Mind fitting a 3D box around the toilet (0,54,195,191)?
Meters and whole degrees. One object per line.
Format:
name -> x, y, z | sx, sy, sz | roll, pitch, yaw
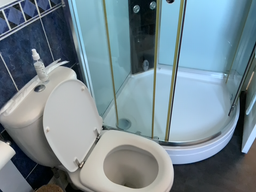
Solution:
toilet -> -0.110, 0.300, 1.100 | 0.690, 0.810, 0.440 | 13, 44, 17
